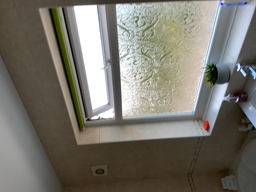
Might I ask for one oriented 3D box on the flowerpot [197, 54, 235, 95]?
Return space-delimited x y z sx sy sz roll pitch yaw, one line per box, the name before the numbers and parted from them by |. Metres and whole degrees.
flowerpot | 0.680 -0.170 1.670 0.240 0.150 0.210 -97 5 -48
